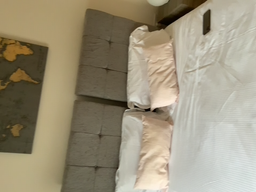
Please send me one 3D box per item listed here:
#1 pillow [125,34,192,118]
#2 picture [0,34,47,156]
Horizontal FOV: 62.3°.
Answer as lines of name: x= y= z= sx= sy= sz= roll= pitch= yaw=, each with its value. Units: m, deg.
pillow: x=0.270 y=-0.170 z=1.730 sx=0.130 sy=0.300 sz=0.630 roll=-6 pitch=45 yaw=56
picture: x=-1.020 y=-0.030 z=1.640 sx=0.040 sy=0.610 sz=0.920 roll=166 pitch=112 yaw=-69
